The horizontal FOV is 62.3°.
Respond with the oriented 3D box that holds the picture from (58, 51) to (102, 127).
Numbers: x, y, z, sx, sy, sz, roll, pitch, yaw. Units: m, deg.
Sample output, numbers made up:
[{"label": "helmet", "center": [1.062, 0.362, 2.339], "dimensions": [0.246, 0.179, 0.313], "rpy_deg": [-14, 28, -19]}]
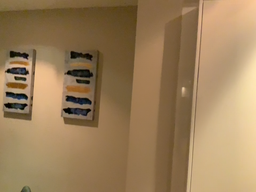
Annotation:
[{"label": "picture", "center": [-0.440, -0.070, 1.930], "dimensions": [0.340, 0.650, 0.100], "rpy_deg": [4, 0, 17]}]
